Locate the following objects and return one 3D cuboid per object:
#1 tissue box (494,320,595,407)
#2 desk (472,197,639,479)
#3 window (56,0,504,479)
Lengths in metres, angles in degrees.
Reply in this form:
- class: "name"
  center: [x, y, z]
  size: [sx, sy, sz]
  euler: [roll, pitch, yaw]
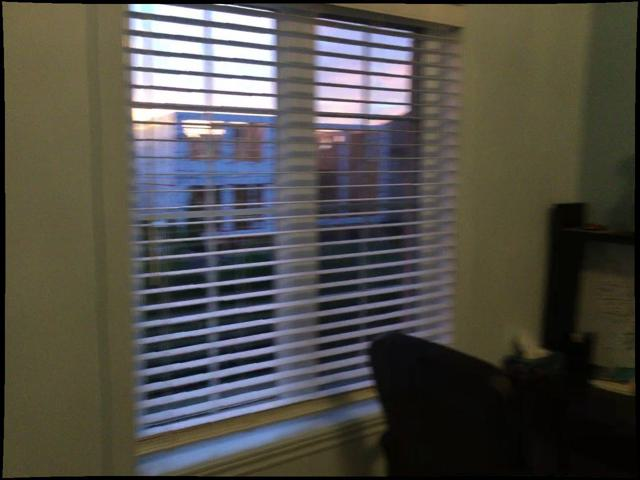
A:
- class: "tissue box"
  center: [0.839, 0.450, 2.160]
  size: [0.340, 0.210, 0.180]
  euler: [-6, 10, -33]
- class: "desk"
  center: [1.109, 0.581, 1.820]
  size: [0.570, 1.341, 1.100]
  euler: [-6, 10, -33]
- class: "window"
  center: [-0.020, -0.090, 1.780]
  size: [1.339, 1.381, 0.280]
  euler: [-6, 10, -33]
